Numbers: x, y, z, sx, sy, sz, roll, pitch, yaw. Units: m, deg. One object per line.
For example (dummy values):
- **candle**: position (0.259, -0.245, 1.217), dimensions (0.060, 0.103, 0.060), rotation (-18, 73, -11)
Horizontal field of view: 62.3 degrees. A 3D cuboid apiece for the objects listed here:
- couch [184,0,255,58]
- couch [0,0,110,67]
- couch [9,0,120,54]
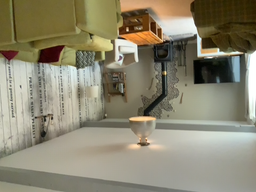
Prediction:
- **couch**: position (1.470, -1.080, 3.060), dimensions (1.140, 0.780, 1.960), rotation (-1, -176, 19)
- **couch**: position (-1.440, -1.030, 3.890), dimensions (1.170, 0.790, 2.770), rotation (-1, -176, 19)
- **couch**: position (-0.740, -1.010, 2.740), dimensions (0.920, 0.730, 1.040), rotation (-1, -176, 20)
